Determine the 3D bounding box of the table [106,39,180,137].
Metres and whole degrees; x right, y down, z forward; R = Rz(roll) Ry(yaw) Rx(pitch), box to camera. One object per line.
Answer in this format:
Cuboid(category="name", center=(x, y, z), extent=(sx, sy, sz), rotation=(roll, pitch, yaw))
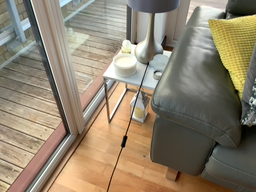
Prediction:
Cuboid(category="table", center=(0.100, -0.060, 1.350), extent=(0.320, 0.410, 0.390), rotation=(15, 46, 14))
